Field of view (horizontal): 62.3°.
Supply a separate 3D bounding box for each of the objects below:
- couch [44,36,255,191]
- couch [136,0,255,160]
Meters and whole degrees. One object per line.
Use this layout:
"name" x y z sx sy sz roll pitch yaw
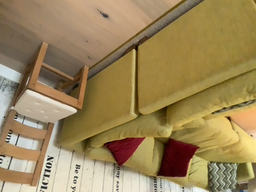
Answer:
"couch" 0.600 0.590 2.660 1.200 0.760 2.730 -26 139 38
"couch" 0.760 -0.120 1.500 1.030 0.760 0.950 29 140 -36
